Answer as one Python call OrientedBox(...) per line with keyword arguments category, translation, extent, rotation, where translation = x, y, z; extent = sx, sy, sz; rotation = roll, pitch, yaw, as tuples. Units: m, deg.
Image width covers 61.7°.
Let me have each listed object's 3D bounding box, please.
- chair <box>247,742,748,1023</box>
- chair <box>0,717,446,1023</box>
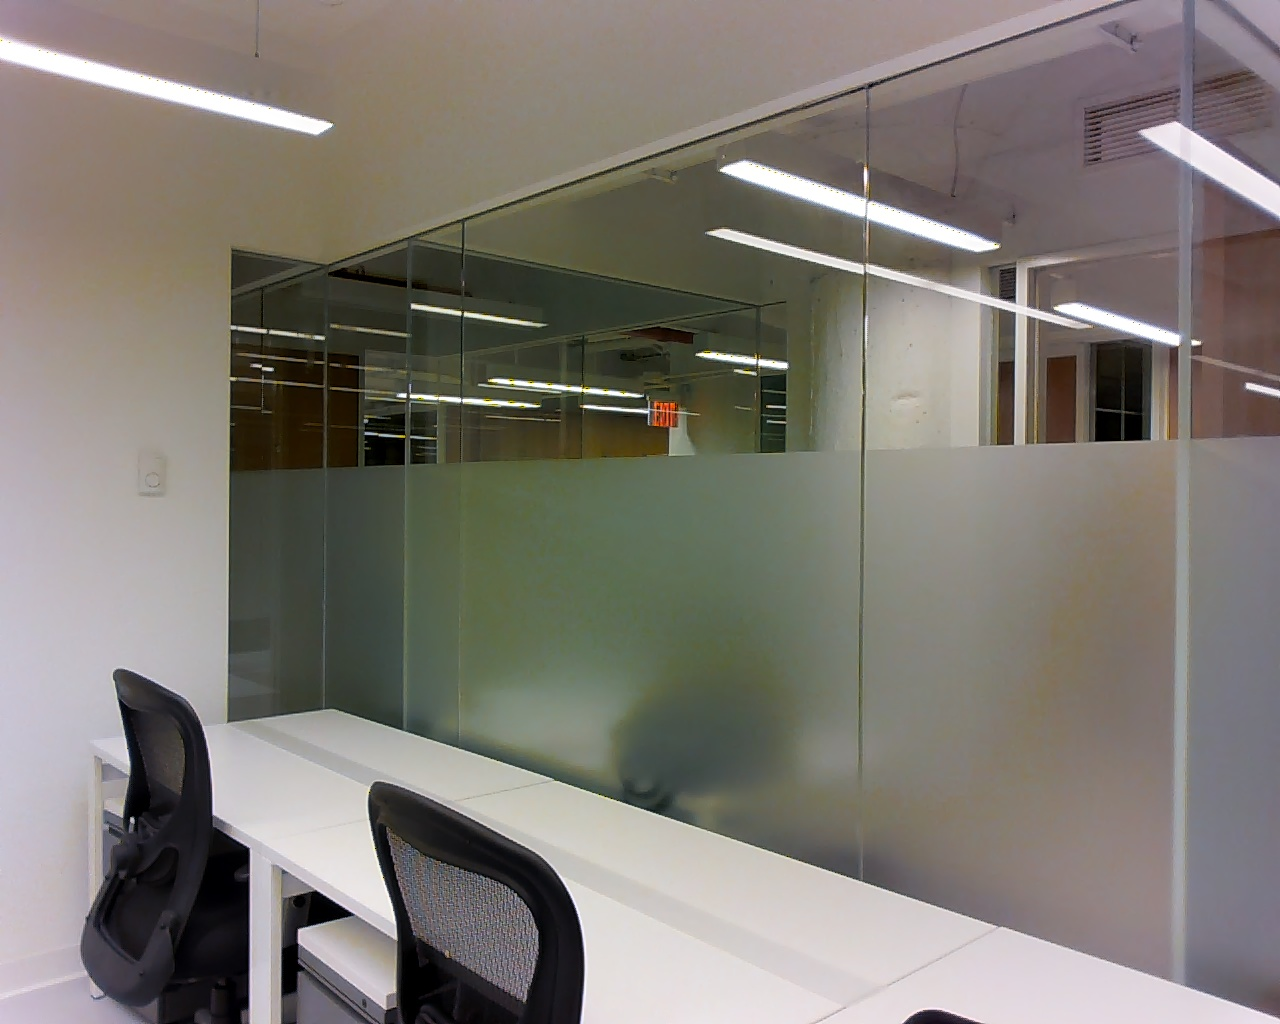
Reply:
OrientedBox(category="chair", translation=(-0.210, 0.920, 1.550), extent=(0.530, 1.020, 0.490), rotation=(1, 0, -42))
OrientedBox(category="chair", translation=(-1.050, 1.010, 2.520), extent=(0.570, 0.800, 1.260), rotation=(1, 0, -43))
